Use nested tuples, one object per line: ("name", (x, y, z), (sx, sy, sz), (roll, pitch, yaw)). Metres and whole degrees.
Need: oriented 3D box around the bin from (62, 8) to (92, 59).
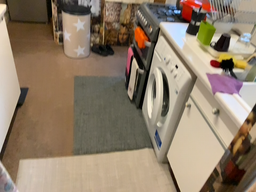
("bin", (-0.670, -0.810, 2.790), (0.340, 0.560, 0.320), (-3, 40, -16))
